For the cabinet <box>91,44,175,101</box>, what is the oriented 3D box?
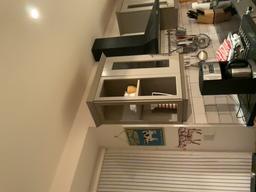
[{"bbox_3d":[0.080,-0.230,2.130,0.340,0.750,0.420,77,-164,-46],"label":"cabinet"}]
